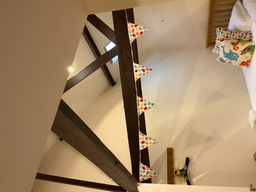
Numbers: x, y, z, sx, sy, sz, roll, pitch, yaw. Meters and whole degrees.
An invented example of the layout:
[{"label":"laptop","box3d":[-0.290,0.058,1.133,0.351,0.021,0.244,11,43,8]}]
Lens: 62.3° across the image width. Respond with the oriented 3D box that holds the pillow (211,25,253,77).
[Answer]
[{"label":"pillow","box3d":[1.470,-0.640,3.080,0.530,0.400,0.480,67,-156,-55]}]
